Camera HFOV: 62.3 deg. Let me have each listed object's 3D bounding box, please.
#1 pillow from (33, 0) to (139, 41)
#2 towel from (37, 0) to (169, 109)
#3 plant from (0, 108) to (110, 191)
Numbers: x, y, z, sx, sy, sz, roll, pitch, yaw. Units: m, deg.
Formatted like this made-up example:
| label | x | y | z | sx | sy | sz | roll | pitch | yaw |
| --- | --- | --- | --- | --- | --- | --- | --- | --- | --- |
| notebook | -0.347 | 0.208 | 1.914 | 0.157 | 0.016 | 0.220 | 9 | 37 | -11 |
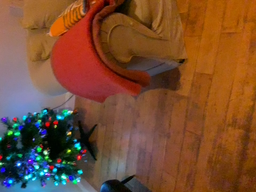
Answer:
| label | x | y | z | sx | sy | sz | roll | pitch | yaw |
| --- | --- | --- | --- | --- | --- | --- | --- | --- | --- |
| pillow | -0.220 | -0.490 | 1.260 | 0.440 | 0.430 | 0.130 | -12 | 89 | 23 |
| towel | -0.180 | -0.230 | 1.290 | 0.590 | 0.500 | 0.520 | -16 | 79 | 48 |
| plant | -1.090 | 0.600 | 1.930 | 0.750 | 1.640 | 0.740 | 17 | 103 | 47 |
